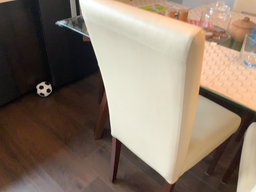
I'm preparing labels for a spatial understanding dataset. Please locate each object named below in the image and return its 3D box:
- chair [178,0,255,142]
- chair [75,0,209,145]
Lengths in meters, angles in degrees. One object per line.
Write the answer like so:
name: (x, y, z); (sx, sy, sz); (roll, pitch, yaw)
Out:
chair: (0.750, -0.280, 1.460); (0.370, 1.010, 0.590); (29, 45, 28)
chair: (0.050, -0.300, 1.410); (0.620, 1.020, 0.440); (31, 45, 29)
